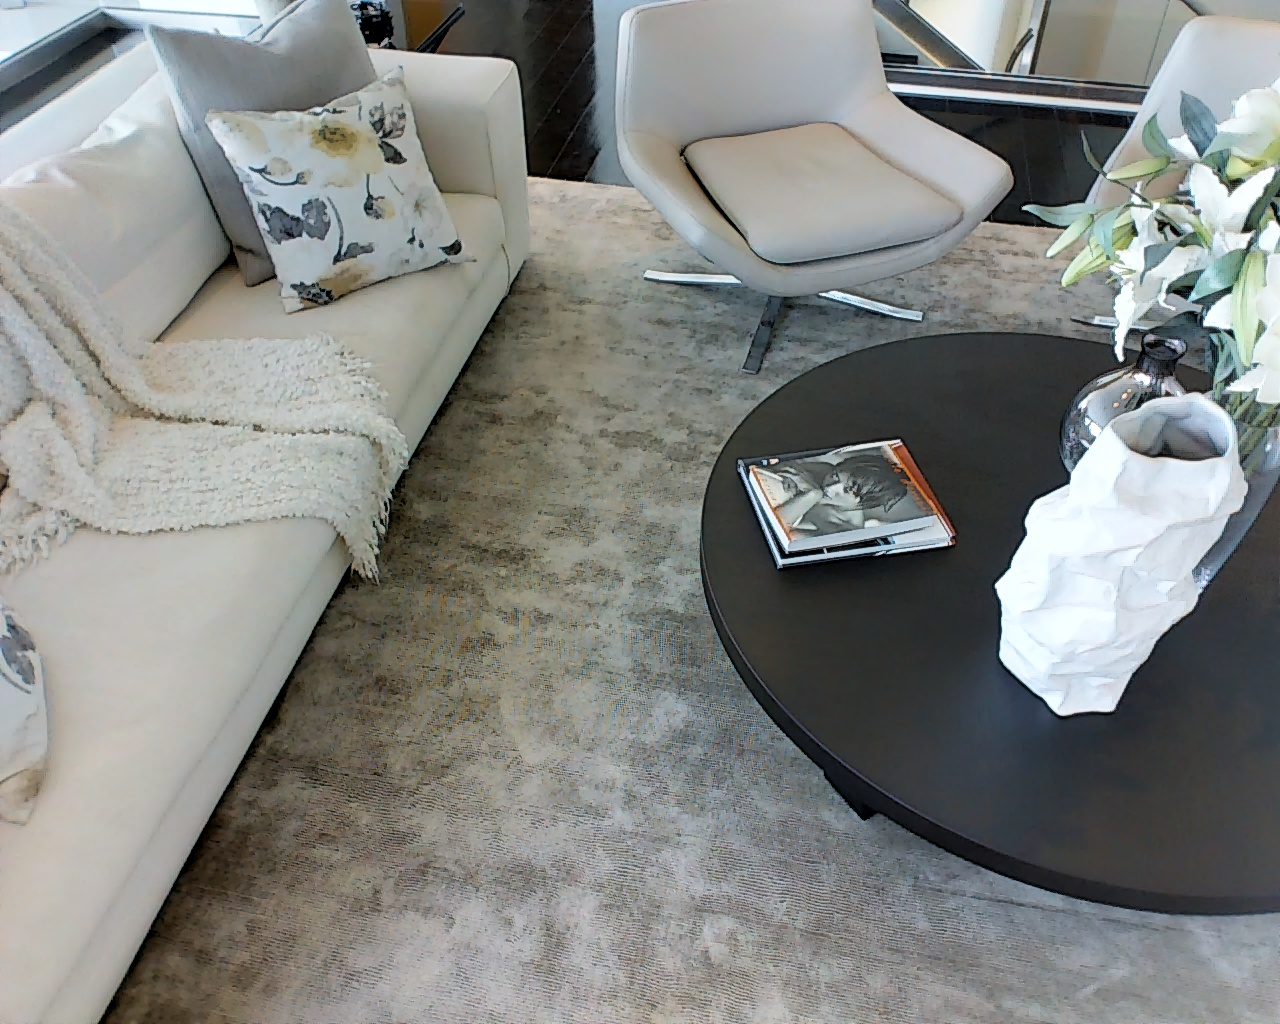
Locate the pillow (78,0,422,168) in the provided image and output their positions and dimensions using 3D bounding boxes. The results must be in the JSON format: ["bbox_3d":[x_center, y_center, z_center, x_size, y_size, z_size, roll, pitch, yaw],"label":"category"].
[{"bbox_3d":[-0.820,-1.010,2.350,0.290,0.250,0.610,29,50,29],"label":"pillow"}]

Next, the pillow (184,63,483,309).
[{"bbox_3d":[-0.640,-0.690,2.310,0.290,0.440,0.530,18,22,36],"label":"pillow"}]
